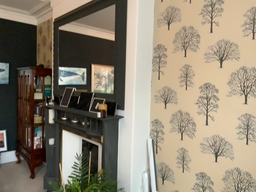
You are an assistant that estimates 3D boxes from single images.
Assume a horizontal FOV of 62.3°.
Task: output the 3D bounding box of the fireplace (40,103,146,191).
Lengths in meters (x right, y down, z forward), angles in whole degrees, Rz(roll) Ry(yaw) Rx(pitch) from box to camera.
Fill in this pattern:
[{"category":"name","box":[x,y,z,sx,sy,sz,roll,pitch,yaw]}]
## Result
[{"category":"fireplace","box":[-0.580,0.840,2.850,0.580,1.310,1.620,-1,5,-42]}]
